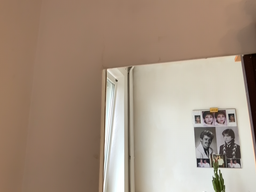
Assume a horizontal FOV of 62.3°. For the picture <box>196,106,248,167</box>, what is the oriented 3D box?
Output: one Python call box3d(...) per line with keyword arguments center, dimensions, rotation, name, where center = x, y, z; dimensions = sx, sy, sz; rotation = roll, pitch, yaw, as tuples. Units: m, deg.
box3d(center=(1.110, 0.480, 2.550), dimensions=(0.510, 0.690, 0.050), rotation=(-3, -14, 13), name="picture")
